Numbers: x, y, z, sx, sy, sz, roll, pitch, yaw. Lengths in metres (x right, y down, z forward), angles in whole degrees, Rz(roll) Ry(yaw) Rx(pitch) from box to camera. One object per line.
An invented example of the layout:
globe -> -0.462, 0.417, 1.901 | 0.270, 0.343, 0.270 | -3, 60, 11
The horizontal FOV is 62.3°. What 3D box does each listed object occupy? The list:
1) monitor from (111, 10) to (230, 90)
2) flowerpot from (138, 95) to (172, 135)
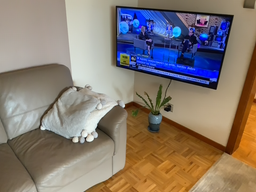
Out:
monitor -> 0.320, -0.490, 2.130 | 1.160, 0.610, 0.070 | 17, 30, 27
flowerpot -> 0.320, 0.220, 2.540 | 0.250, 0.330, 0.280 | -17, 32, -34
